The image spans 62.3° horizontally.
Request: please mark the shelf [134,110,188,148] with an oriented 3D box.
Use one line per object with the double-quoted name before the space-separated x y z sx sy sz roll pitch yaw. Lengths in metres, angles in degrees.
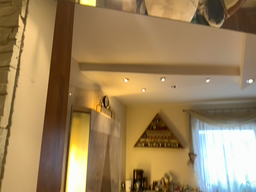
"shelf" 0.650 0.660 4.280 1.040 0.730 0.100 -2 -15 11
